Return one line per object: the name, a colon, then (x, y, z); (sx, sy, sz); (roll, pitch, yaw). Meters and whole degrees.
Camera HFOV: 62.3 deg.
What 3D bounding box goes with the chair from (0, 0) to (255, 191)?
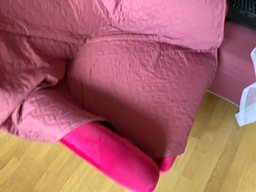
chair: (-0.100, -0.160, 0.790); (0.840, 1.020, 0.780); (21, 65, 11)
